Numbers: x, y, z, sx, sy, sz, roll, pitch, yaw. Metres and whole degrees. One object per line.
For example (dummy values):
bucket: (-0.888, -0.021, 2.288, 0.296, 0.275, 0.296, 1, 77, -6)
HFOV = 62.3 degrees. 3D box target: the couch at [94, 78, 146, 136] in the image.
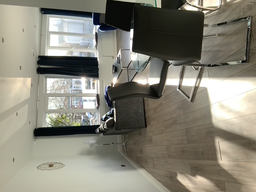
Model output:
couch: (-0.340, 0.410, 5.470, 2.350, 0.820, 1.060, 136, 132, -71)

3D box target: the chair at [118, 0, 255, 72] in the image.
chair: (0.470, -0.490, 1.890, 0.550, 1.020, 0.470, -141, 52, -72)

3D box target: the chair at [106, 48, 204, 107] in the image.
chair: (0.290, -0.230, 2.600, 0.470, 1.020, 0.550, -116, 29, -60)
